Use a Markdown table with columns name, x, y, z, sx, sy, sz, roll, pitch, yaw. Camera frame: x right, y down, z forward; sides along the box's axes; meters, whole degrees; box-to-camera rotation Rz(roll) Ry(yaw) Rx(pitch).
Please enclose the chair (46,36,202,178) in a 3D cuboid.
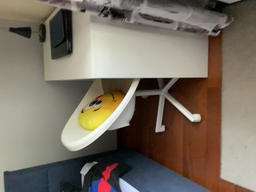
| name | x | y | z | sx | sy | sz | roll | pitch | yaw |
| --- | --- | --- | --- | --- | --- | --- | --- | --- | --- |
| chair | -0.040 | 0.010 | 1.380 | 0.600 | 0.800 | 0.620 | 9 | 101 | 57 |
